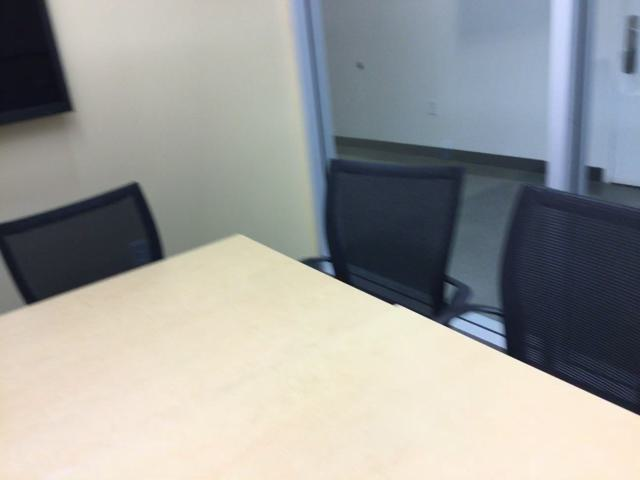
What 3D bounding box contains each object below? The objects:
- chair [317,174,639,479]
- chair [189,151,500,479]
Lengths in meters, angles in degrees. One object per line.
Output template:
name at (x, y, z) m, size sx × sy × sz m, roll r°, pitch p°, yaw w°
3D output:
chair at (0.430, 0.370, 1.270) m, size 0.580 × 0.880 × 0.490 m, roll -22°, pitch 23°, yaw -35°
chair at (0.100, 0.270, 1.690) m, size 0.580 × 0.920 × 0.550 m, roll -22°, pitch 23°, yaw -35°
